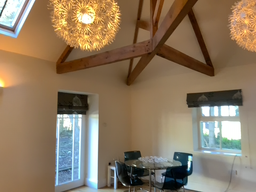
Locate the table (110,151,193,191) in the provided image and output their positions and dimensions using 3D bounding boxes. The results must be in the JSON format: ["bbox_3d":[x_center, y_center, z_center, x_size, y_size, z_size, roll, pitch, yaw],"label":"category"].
[{"bbox_3d":[0.460,1.560,4.070,1.150,0.740,1.140,-4,-7,38],"label":"table"}]
